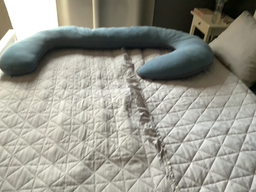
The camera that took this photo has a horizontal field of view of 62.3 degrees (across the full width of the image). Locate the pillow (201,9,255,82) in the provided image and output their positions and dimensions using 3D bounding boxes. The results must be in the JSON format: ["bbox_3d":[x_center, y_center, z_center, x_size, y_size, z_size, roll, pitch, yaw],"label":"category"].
[{"bbox_3d":[0.770,-0.370,1.480,0.230,0.270,0.540,-3,41,-10],"label":"pillow"}]
